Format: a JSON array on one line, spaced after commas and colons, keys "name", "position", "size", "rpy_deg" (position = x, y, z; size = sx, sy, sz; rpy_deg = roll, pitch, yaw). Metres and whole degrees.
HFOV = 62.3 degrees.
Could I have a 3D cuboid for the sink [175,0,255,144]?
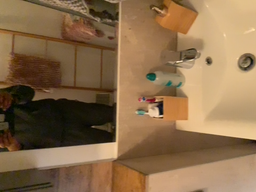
[{"name": "sink", "position": [0.360, -0.130, 0.730], "size": [0.390, 0.130, 0.540], "rpy_deg": [-2, 85, 54]}]
